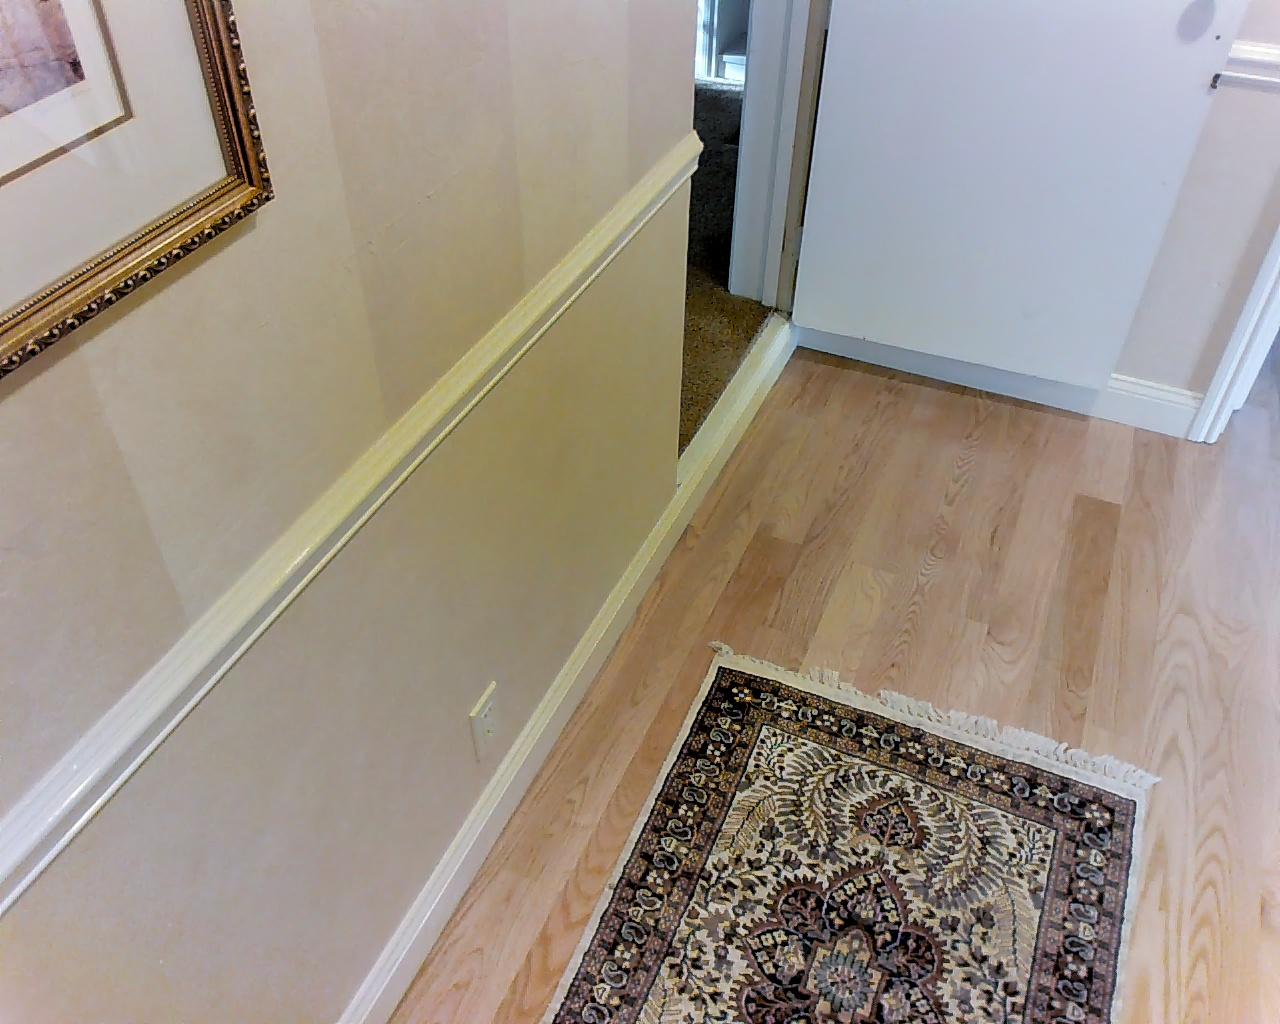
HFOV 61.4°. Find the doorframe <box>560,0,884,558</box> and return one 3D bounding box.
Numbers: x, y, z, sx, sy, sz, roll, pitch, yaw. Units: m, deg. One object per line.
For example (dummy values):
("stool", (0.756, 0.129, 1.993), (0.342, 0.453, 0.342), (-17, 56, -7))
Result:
("doorframe", (0.200, -0.970, 1.850), (0.260, 1.970, 0.960), (17, 44, 17))
